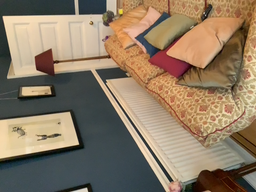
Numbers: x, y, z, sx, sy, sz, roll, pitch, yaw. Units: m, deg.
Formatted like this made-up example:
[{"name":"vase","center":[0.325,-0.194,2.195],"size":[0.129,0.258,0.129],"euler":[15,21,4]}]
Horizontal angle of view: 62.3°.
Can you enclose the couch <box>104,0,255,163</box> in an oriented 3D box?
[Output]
[{"name":"couch","center":[0.480,-0.570,1.880],"size":[1.930,0.880,1.040],"euler":[-130,37,-55]}]
